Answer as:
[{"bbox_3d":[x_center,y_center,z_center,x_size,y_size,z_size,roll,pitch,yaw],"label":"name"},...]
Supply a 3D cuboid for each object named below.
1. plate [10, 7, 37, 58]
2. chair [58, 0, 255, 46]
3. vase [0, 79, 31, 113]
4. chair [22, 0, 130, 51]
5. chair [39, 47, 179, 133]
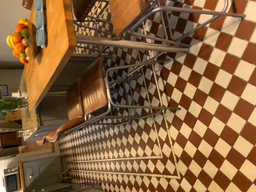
[{"bbox_3d":[-0.720,-0.420,1.450,0.270,0.120,0.220,-27,71,55],"label":"plate"},{"bbox_3d":[0.160,-0.600,1.160,0.490,0.950,0.420,-21,76,56],"label":"chair"},{"bbox_3d":[-1.510,0.010,2.630,0.370,0.490,0.320,-29,69,54],"label":"vase"},{"bbox_3d":[-0.530,-0.810,2.190,0.470,0.940,0.490,-19,78,56],"label":"chair"},{"bbox_3d":[-0.130,-0.040,1.670,0.420,0.950,0.490,-22,75,56],"label":"chair"}]
